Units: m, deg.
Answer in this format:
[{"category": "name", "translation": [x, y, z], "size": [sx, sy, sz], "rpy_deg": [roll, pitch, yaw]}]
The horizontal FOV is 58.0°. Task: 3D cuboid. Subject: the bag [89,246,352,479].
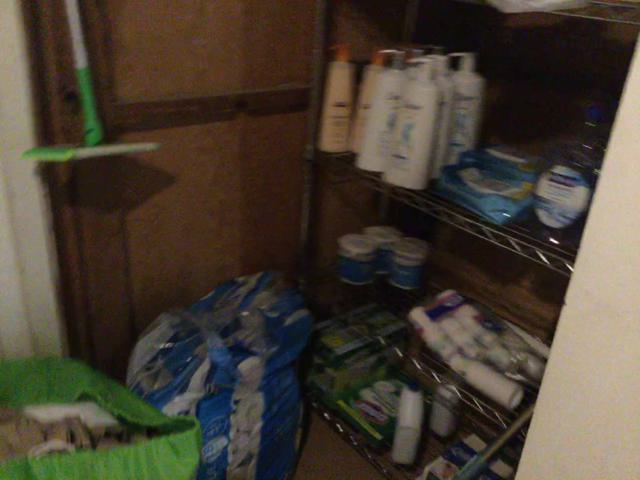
[{"category": "bag", "translation": [-0.260, 0.420, 1.540], "size": [0.530, 0.620, 0.340], "rpy_deg": [-17, 34, -39]}]
